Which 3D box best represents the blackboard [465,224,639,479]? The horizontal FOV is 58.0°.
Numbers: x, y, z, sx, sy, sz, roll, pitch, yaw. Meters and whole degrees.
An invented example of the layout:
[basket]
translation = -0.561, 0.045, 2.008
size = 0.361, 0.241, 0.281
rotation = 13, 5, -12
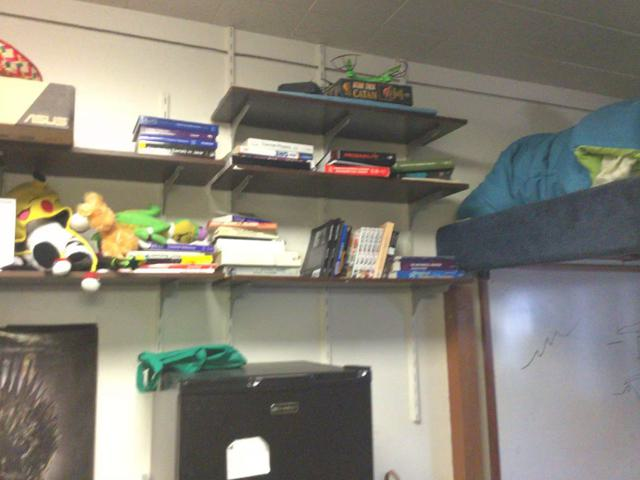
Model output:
[blackboard]
translation = 1.630, 0.690, 2.730
size = 2.140, 1.350, 0.140
rotation = 5, -11, -23
